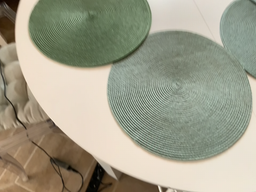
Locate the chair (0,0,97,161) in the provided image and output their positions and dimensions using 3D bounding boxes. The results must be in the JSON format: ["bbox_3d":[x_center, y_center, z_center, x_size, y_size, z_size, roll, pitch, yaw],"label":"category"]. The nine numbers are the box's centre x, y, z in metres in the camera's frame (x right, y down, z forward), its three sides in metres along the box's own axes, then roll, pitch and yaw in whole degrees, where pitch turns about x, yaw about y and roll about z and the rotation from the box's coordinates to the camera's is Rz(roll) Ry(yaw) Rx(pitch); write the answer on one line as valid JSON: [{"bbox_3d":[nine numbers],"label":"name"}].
[{"bbox_3d":[-0.420,-0.030,0.940,0.380,0.800,0.390,-18,66,-9],"label":"chair"}]
